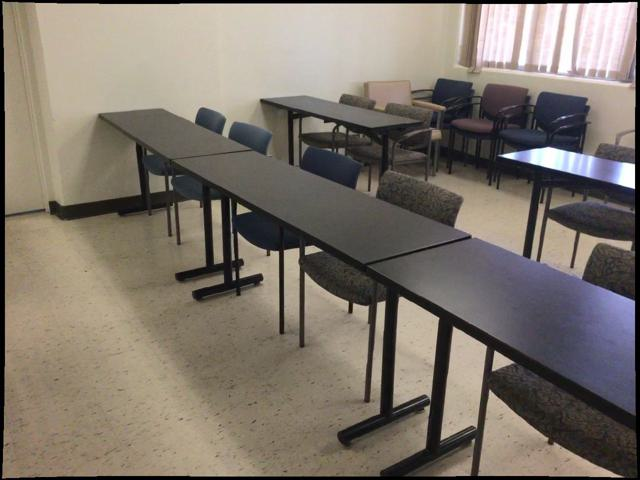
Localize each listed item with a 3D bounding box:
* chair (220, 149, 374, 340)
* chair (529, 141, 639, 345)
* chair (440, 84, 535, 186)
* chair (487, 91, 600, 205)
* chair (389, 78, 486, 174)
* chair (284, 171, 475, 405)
[{"bbox_3d":[-0.110,-0.010,2.880,0.579,0.742,0.450,-15,26,-34],"label":"chair"},{"bbox_3d":[1.536,-0.020,2.960,0.509,0.822,0.580,-15,26,-32],"label":"chair"},{"bbox_3d":[1.486,-0.962,5.170,0.569,0.772,0.500,-15,26,-32],"label":"chair"},{"bbox_3d":[1.815,-0.772,4.720,0.579,0.772,0.530,-15,26,-32],"label":"chair"},{"bbox_3d":[1.117,-1.123,5.570,0.629,0.762,0.600,-15,26,-32],"label":"chair"},{"bbox_3d":[0.229,0.160,2.430,0.569,0.732,0.500,-15,26,-32],"label":"chair"}]
